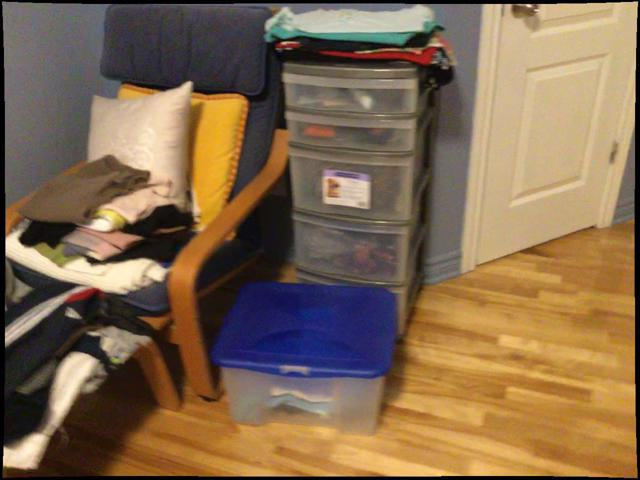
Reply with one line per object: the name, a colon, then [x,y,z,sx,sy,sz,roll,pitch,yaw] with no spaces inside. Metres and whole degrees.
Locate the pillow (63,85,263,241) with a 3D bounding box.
pillow: [-0.460,-0.250,1.780,0.440,0.350,0.300,8,34,20]

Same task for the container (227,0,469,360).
container: [0.130,-0.200,1.730,0.500,0.971,0.450,8,34,20]

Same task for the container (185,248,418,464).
container: [-0.020,0.290,1.620,0.490,0.280,0.450,8,34,20]

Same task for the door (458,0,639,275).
door: [0.799,-0.991,1.650,0.749,2.302,0.150,-18,34,-19]

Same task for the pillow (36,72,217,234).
pillow: [-0.539,-0.270,1.700,0.260,0.330,0.380,8,34,21]
